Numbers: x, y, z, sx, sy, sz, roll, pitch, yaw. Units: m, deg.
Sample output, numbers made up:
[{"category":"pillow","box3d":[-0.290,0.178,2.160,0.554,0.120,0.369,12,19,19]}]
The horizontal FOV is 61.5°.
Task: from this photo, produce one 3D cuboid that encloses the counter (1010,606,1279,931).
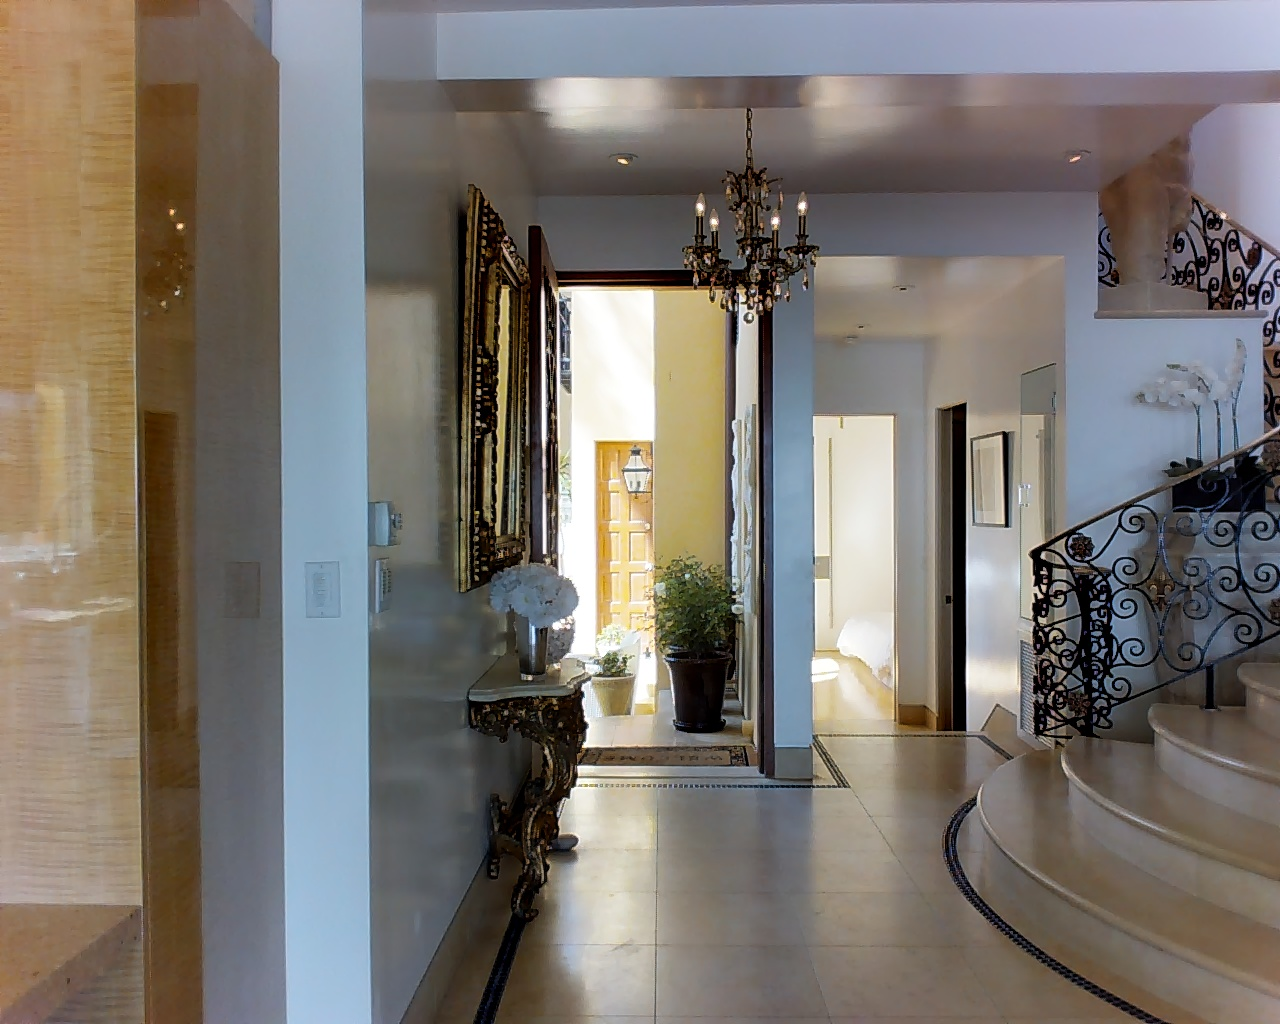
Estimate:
[{"category":"counter","box3d":[1.999,0.900,4.070,0.890,1.000,0.940,0,1,2]}]
